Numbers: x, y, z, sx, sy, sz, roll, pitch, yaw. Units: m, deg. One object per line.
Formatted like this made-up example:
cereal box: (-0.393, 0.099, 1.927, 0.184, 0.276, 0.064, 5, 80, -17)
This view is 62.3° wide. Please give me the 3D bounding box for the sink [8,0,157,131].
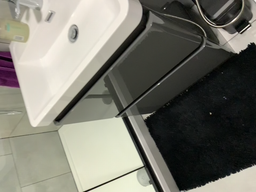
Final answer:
sink: (-0.230, -0.200, 0.760, 0.590, 0.110, 0.410, -41, 66, 34)
